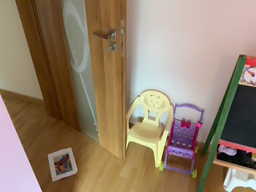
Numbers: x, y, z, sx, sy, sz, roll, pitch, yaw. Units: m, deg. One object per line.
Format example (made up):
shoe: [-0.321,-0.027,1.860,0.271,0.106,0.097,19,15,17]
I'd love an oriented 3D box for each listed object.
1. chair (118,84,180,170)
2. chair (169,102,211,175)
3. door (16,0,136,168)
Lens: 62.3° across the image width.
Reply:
chair: [0.170,0.260,1.800,0.390,0.540,0.360,15,39,17]
chair: [0.490,0.350,1.740,0.220,0.480,0.320,9,37,9]
door: [-0.400,-0.420,1.530,0.970,2.140,0.140,24,42,26]
